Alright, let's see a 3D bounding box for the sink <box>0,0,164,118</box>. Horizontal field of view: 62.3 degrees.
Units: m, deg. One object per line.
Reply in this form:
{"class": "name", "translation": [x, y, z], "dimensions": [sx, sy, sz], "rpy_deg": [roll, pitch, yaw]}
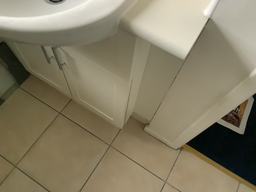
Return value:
{"class": "sink", "translation": [-0.220, -0.280, 0.560], "dimensions": [0.520, 0.210, 0.420], "rpy_deg": [31, 65, 10]}
